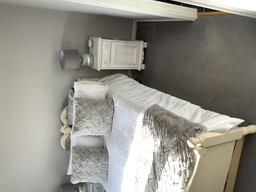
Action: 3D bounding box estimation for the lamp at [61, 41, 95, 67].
[{"bbox_3d":[-0.650,-0.540,2.710,0.280,0.350,0.270,32,120,56],"label":"lamp"}]

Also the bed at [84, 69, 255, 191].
[{"bbox_3d":[0.170,0.660,2.530,2.090,0.680,1.550,33,120,56],"label":"bed"}]
